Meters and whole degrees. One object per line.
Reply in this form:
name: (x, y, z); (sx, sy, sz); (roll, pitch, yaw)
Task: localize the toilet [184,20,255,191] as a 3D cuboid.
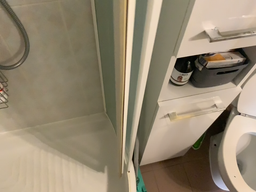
toilet: (0.630, 0.180, 1.110); (0.420, 0.800, 0.650); (11, 59, 4)
